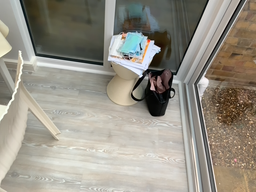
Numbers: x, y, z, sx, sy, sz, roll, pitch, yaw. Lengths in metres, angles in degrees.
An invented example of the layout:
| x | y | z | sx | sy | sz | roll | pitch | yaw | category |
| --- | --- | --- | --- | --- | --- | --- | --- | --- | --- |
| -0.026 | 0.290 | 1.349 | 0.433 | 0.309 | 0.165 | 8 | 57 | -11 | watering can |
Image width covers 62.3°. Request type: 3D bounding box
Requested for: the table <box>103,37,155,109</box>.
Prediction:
| x | y | z | sx | sy | sz | roll | pitch | yaw | category |
| --- | --- | --- | --- | --- | --- | --- | --- | --- | --- |
| 0.000 | -0.160 | 1.580 | 0.320 | 0.390 | 0.310 | 7 | 53 | -3 | table |

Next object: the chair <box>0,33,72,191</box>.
| x | y | z | sx | sy | sz | roll | pitch | yaw | category |
| --- | --- | --- | --- | --- | --- | --- | --- | --- | --- |
| -0.630 | 0.180 | 1.010 | 0.530 | 0.770 | 0.540 | 8 | 53 | -2 | chair |
